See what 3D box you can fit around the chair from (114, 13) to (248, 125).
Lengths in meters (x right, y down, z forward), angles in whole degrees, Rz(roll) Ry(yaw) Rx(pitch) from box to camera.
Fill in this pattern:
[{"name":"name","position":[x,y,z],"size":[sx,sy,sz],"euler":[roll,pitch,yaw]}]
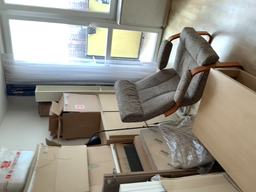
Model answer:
[{"name":"chair","position":[0.440,-0.260,2.280],"size":[0.850,0.970,0.740],"euler":[106,158,-44]}]

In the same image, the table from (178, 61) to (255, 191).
[{"name":"table","position":[0.950,0.270,1.580],"size":[1.450,0.390,0.660],"euler":[-121,35,-61]}]
